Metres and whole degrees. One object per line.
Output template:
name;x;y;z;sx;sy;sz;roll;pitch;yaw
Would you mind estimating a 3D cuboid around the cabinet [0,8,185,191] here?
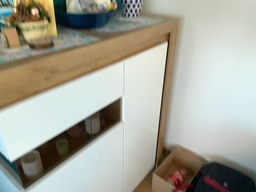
cabinet;-0.200;0.200;1.310;0.450;1.240;1.110;23;37;32
